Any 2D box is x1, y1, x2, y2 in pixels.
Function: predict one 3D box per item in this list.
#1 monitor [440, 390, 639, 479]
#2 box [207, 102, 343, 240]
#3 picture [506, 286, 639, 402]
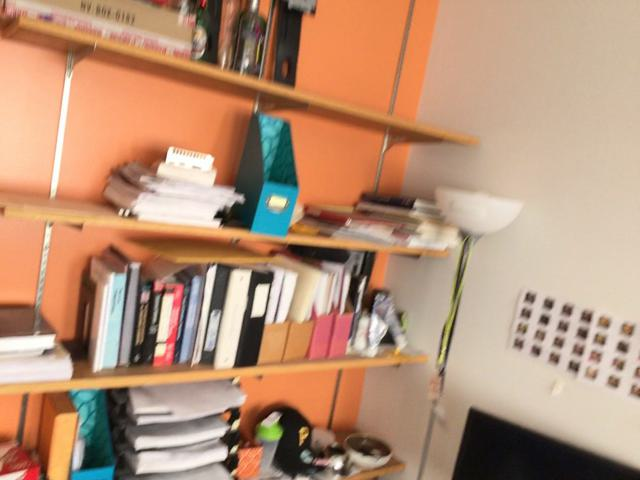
[{"bbox_3d":[0.620,0.730,1.610,0.280,0.440,0.500,4,6,-36],"label":"monitor"},{"bbox_3d":[-0.140,-0.200,1.700,0.230,0.350,0.310,4,6,-36],"label":"box"},{"bbox_3d":[0.760,0.290,1.630,0.030,0.220,0.500,4,6,-36],"label":"picture"}]
